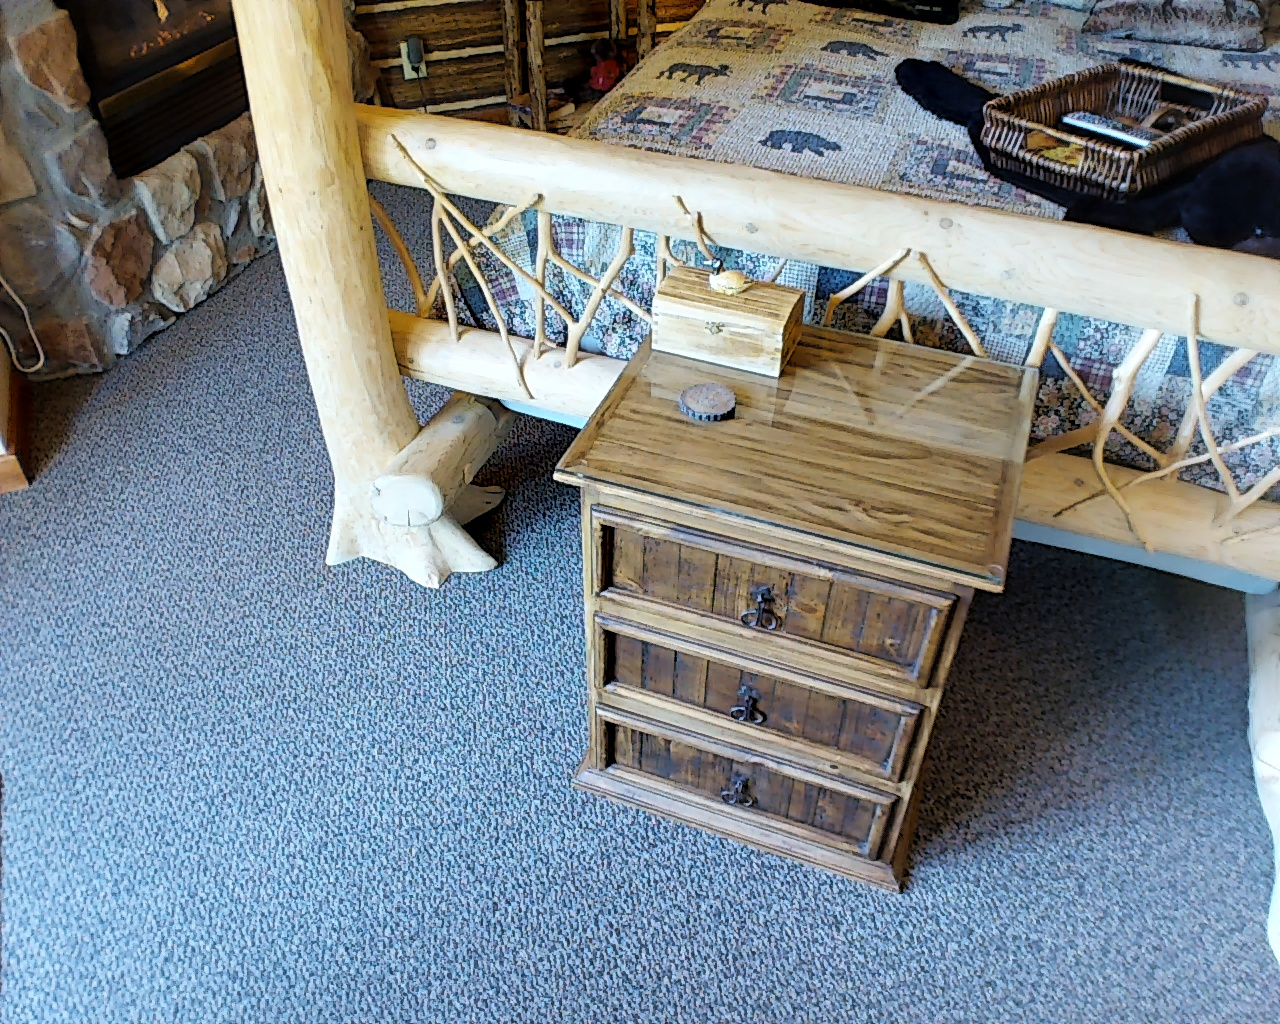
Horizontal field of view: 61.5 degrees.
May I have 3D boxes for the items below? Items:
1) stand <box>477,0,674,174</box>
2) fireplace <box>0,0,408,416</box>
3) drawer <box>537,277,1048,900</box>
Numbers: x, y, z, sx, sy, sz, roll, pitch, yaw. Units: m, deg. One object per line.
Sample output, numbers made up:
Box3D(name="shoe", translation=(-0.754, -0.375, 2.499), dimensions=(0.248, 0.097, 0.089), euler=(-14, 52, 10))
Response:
Box3D(name="stand", translation=(-0.220, -1.560, 3.640), dimensions=(0.540, 0.610, 0.410), euler=(-16, 44, -17))
Box3D(name="fireplace", translation=(-1.280, -1.290, 2.710), dimensions=(0.440, 1.430, 1.520), euler=(15, 44, 17))
Box3D(name="drawer", translation=(0.230, 0.120, 1.700), dimensions=(0.590, 0.730, 0.490), euler=(13, 44, 15))
